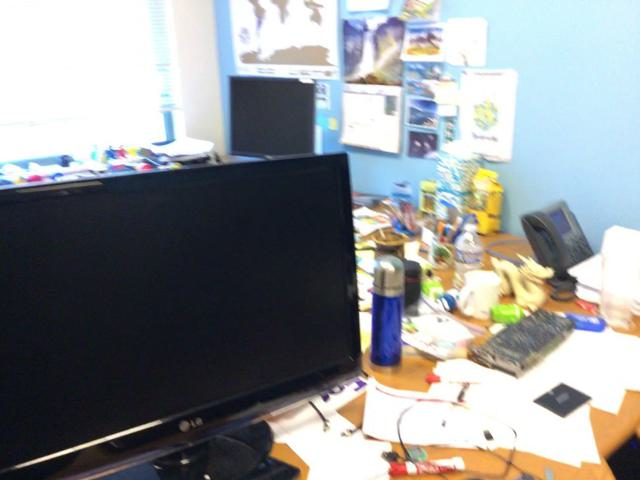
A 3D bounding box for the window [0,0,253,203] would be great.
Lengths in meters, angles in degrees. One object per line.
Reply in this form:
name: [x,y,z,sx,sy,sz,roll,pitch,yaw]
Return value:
window: [-1.350,-0.850,2.350,2.360,1.360,0.230,-17,26,-38]
